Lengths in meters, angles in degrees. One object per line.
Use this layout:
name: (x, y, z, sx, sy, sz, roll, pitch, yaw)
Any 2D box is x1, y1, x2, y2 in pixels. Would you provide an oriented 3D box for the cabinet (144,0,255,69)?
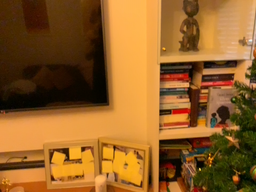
cabinet: (0.630, -0.630, 1.120, 1.050, 0.890, 0.290, -3, 17, -6)

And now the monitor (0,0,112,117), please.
monitor: (-0.720, -0.240, 1.160, 1.220, 0.720, 0.090, -3, 17, -6)
